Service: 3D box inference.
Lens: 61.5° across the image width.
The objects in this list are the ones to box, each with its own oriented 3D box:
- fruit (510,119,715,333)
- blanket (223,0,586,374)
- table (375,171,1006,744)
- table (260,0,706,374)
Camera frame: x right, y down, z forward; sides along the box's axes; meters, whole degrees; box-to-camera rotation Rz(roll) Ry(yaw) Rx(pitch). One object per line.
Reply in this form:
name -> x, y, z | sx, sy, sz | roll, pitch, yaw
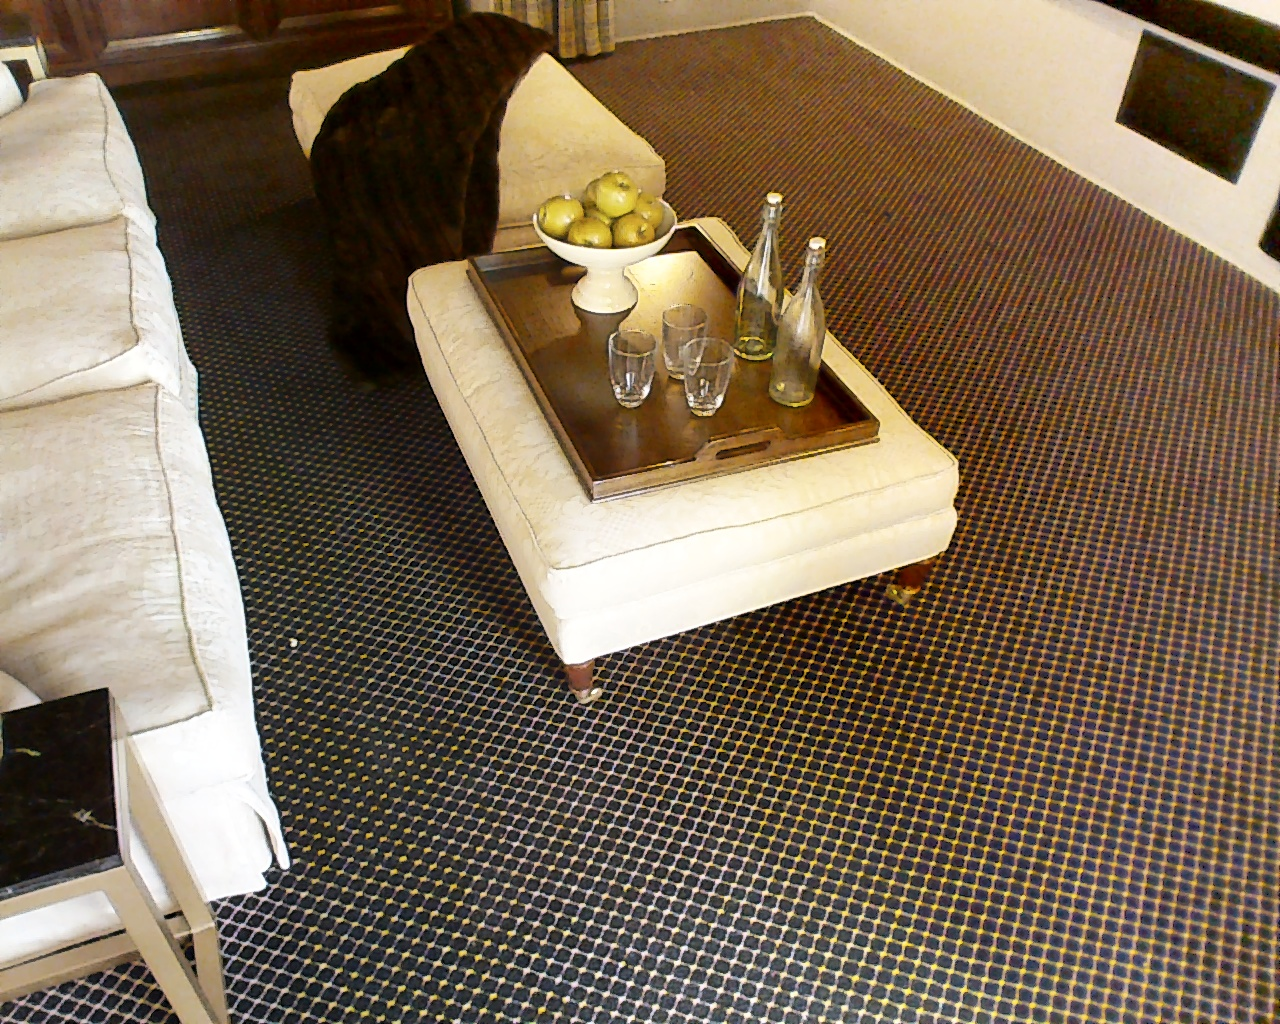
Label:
fruit -> -0.060, -0.570, 2.120 | 0.310, 0.260, 0.310 | -12, 43, -14
blanket -> -0.560, -1.030, 3.060 | 0.590, 0.570, 1.330 | 5, 42, 5
table -> 0.020, -0.210, 2.260 | 0.860, 0.450, 1.120 | -15, 44, -16
table -> -0.480, -1.040, 3.080 | 0.880, 0.570, 1.180 | -16, 44, -18
